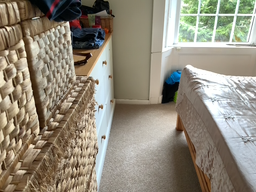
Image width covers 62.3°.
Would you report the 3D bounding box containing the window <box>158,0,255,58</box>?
[{"bbox_3d":[1.060,-1.180,2.300,1.360,1.460,0.350,1,27,3],"label":"window"}]
